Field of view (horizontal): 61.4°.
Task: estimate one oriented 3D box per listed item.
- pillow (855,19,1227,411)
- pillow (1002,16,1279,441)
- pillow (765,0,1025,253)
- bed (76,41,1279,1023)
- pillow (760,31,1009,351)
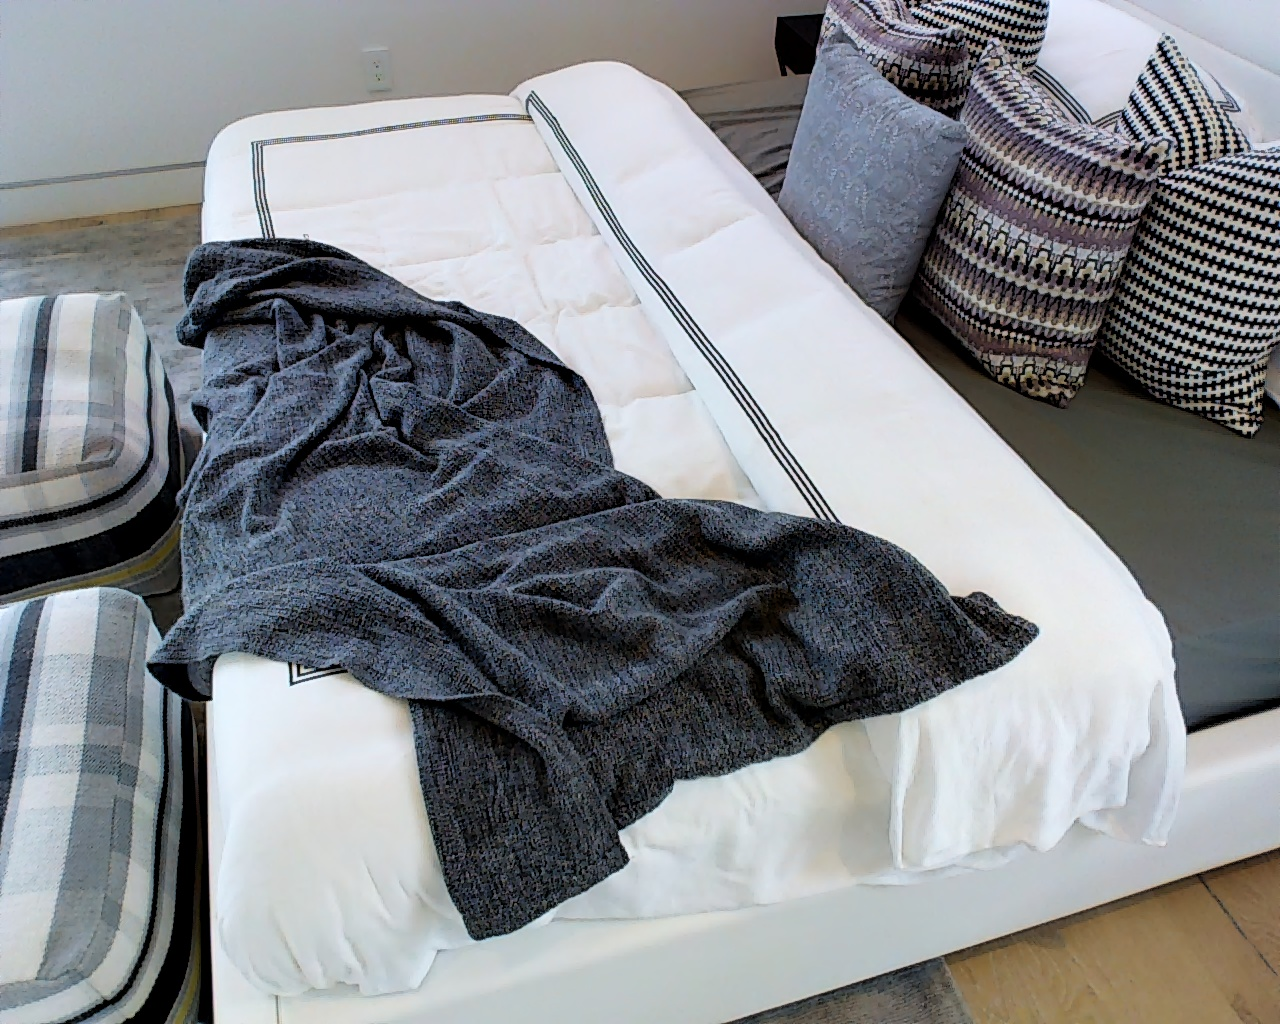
[{"bbox_3d":[0.610,-0.500,1.770,0.240,0.420,0.500,-12,44,-15],"label":"pillow"},{"bbox_3d":[0.870,-0.460,1.700,0.240,0.440,0.520,-11,43,-14],"label":"pillow"},{"bbox_3d":[0.460,-0.790,2.070,0.250,0.390,0.420,-13,44,-15],"label":"pillow"},{"bbox_3d":[0.250,-0.200,2.190,2.270,0.600,2.130,-11,43,-14],"label":"bed"},{"bbox_3d":[0.400,-0.570,1.890,0.200,0.380,0.420,-11,43,-14],"label":"pillow"}]
